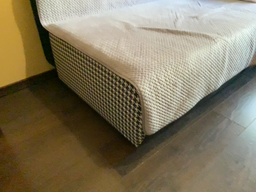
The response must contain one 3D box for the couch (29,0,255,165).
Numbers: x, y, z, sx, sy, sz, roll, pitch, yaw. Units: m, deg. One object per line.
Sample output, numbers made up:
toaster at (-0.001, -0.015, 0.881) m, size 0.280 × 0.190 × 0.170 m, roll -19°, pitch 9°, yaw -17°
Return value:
couch at (0.520, -0.610, 1.530) m, size 2.020 × 0.740 × 0.980 m, roll -27°, pitch 44°, yaw -32°
